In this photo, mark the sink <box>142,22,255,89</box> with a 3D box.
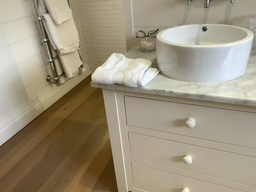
[{"bbox_3d":[0.340,-0.230,1.030,0.420,0.170,0.430,7,31,21],"label":"sink"}]

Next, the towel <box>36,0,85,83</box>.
[{"bbox_3d":[-0.750,-0.710,2.470,0.120,1.010,0.460,7,31,20],"label":"towel"}]
